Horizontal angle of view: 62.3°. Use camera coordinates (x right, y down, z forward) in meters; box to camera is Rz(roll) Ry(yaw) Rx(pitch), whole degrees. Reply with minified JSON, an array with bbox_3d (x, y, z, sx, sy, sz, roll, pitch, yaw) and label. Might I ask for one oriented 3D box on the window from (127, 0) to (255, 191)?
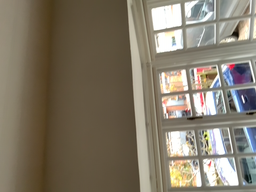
[{"bbox_3d":[0.730,0.100,1.530,0.650,1.270,2.100,50,-145,-71],"label":"window"}]
